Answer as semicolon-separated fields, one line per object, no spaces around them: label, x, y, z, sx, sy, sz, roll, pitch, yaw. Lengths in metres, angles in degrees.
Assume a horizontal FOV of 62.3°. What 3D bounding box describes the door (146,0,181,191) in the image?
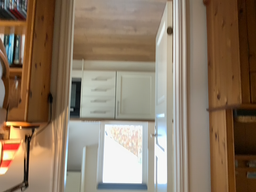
door;0.270;0.380;1.830;0.110;2.250;0.990;1;174;-1

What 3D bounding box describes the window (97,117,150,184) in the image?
window;-0.080;0.970;3.860;0.920;1.150;0.190;1;174;-5
